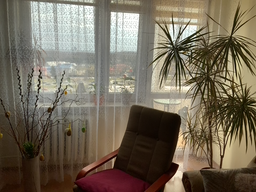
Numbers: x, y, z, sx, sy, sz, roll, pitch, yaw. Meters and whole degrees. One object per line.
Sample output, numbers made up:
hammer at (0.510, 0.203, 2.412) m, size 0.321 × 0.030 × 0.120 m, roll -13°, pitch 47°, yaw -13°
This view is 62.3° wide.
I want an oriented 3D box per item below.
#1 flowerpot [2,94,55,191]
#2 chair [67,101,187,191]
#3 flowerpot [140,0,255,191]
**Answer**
flowerpot at (-0.970, 0.520, 2.150) m, size 0.370 × 1.030 × 0.400 m, roll 0°, pitch 12°, yaw -14°
chair at (0.000, 0.640, 1.850) m, size 0.630 × 0.980 × 0.790 m, roll 12°, pitch 15°, yaw 38°
flowerpot at (0.840, 0.060, 2.250) m, size 0.890 × 1.900 × 0.990 m, roll 14°, pitch 16°, yaw 42°
